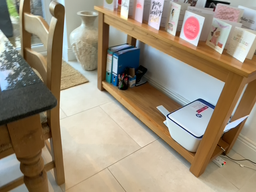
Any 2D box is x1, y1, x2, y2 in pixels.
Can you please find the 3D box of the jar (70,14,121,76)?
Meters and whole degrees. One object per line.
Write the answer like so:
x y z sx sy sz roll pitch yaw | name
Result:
-0.370 -0.590 2.400 0.400 0.540 0.380 -19 42 -34 | jar

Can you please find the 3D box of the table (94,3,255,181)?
0.260 -0.160 1.660 0.450 0.770 1.290 -20 43 -33 | table
